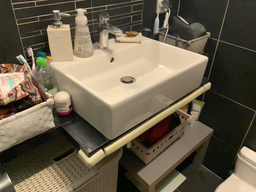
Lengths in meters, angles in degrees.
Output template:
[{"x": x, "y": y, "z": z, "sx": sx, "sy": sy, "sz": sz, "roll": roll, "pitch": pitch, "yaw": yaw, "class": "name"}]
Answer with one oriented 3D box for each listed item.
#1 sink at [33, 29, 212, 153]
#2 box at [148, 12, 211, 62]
[{"x": -0.010, "y": -0.090, "z": 0.850, "sx": 0.530, "sy": 0.160, "sz": 0.430, "roll": -27, "pitch": 43, "yaw": -36, "class": "sink"}, {"x": 0.270, "y": -0.330, "z": 1.150, "sx": 0.180, "sy": 0.170, "sz": 0.250, "roll": -25, "pitch": 42, "yaw": -35, "class": "box"}]
